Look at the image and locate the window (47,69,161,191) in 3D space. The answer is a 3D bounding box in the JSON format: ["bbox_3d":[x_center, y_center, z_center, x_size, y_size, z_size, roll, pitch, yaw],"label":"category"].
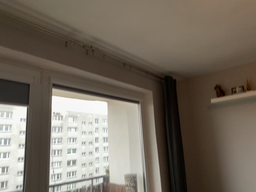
[{"bbox_3d":[-0.140,0.620,2.290,0.150,1.520,1.470,-14,-17,39],"label":"window"}]
